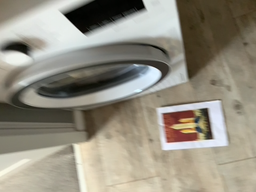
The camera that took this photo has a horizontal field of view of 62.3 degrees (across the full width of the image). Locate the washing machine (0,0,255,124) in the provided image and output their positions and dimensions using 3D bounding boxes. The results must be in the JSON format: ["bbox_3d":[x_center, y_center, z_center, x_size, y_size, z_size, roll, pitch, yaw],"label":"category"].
[{"bbox_3d":[-0.100,-0.260,0.750,0.740,0.830,0.550,-16,78,15],"label":"washing machine"}]
